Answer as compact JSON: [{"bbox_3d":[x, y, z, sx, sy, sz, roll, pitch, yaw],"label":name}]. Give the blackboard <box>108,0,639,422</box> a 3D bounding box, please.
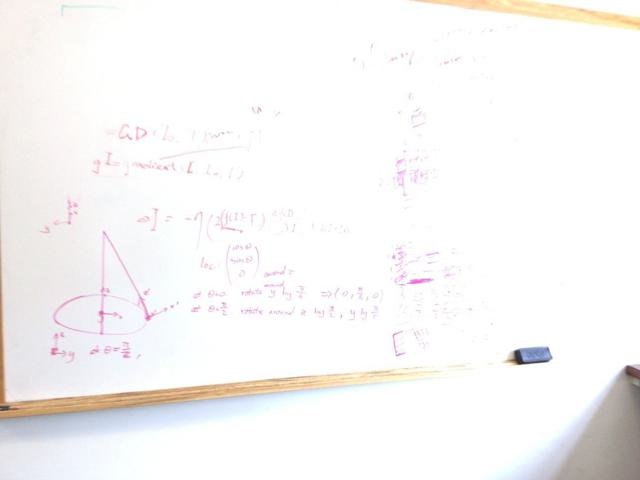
[{"bbox_3d":[0.440,-0.160,1.820,1.980,1.370,0.240,4,1,-16],"label":"blackboard"}]
